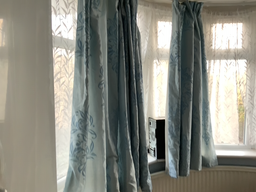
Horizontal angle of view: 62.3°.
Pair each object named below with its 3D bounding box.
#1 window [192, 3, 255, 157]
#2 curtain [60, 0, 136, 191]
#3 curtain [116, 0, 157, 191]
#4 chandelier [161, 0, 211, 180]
[{"bbox_3d":[1.320,-0.140,2.130,1.270,1.510,0.140,1,5,16],"label":"window"},{"bbox_3d":[-0.160,-0.020,1.340,0.140,1.610,0.470,4,6,43],"label":"curtain"},{"bbox_3d":[0.070,-0.050,1.620,0.260,1.580,0.160,-5,6,-43],"label":"curtain"},{"bbox_3d":[0.510,-0.080,1.900,0.380,1.590,0.170,-2,5,-14],"label":"chandelier"}]
